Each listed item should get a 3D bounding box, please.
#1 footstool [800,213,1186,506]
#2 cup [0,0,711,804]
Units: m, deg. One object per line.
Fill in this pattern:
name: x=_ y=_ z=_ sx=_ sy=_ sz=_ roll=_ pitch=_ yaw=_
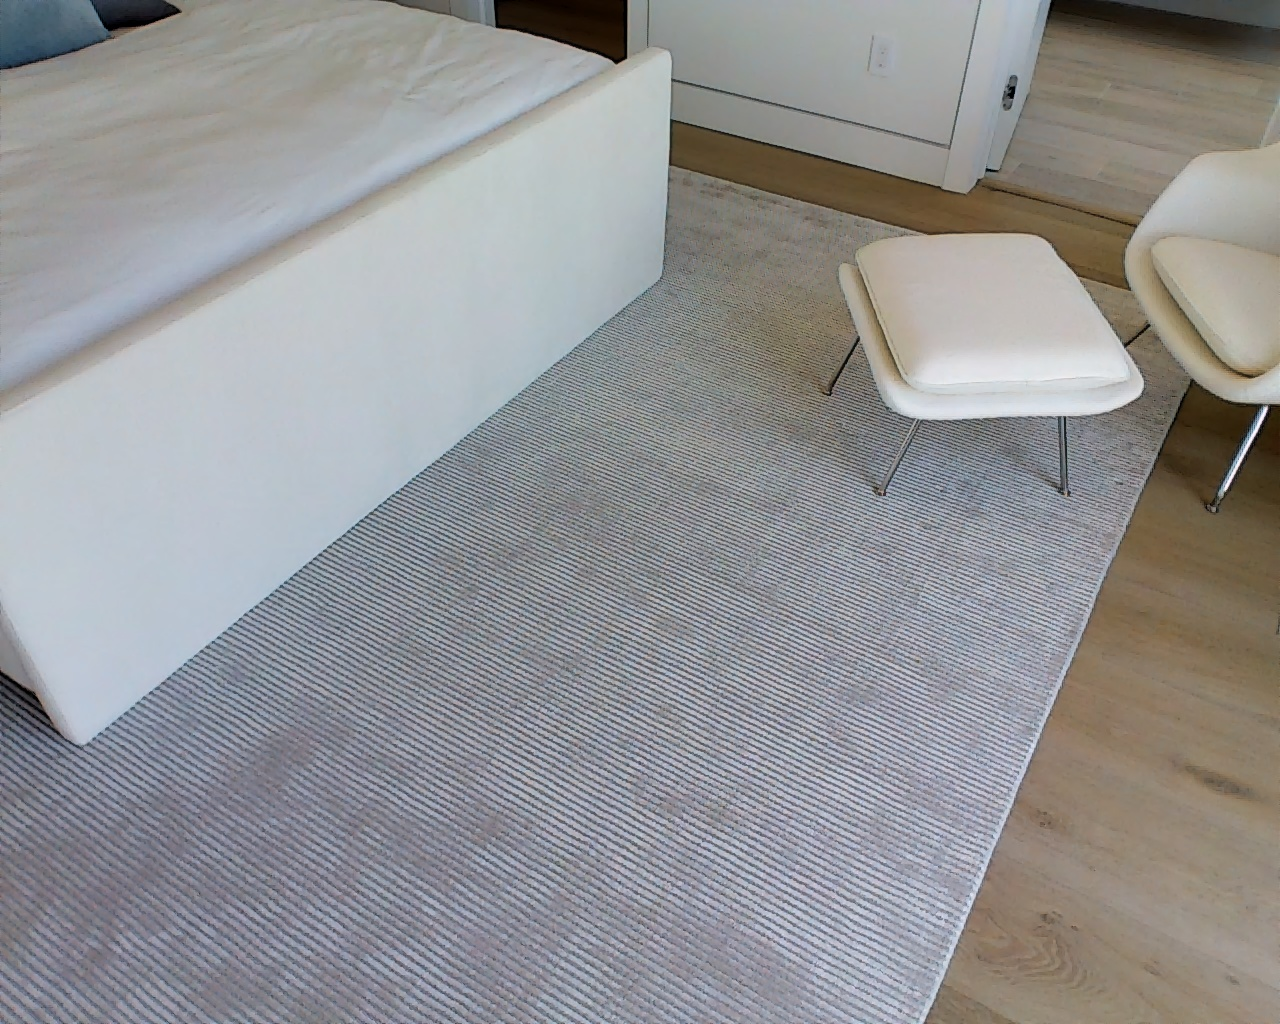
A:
footstool: x=0.740 y=-0.360 z=2.440 sx=0.610 sy=0.390 sz=0.610 roll=0 pitch=40 yaw=-3
cup: x=-0.940 y=-0.600 z=2.510 sx=1.250 sy=0.760 sz=2.150 roll=24 pitch=45 yaw=23
